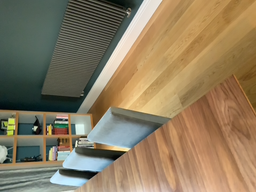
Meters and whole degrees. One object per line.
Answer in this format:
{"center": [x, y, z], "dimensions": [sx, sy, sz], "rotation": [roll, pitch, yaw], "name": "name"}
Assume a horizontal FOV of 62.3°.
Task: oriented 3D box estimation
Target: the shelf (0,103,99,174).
{"center": [-1.620, 0.670, 3.440], "dimensions": [0.430, 2.160, 0.990], "rotation": [-49, 45, 45], "name": "shelf"}
